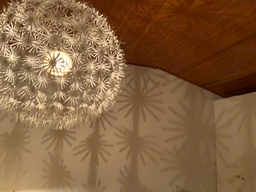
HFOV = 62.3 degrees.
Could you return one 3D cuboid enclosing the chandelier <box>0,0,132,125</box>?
[{"bbox_3d":[-0.480,-0.340,1.470,0.780,1.020,0.820,-2,169,19],"label":"chandelier"}]
